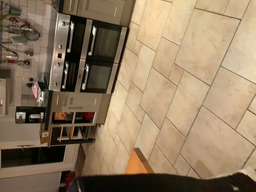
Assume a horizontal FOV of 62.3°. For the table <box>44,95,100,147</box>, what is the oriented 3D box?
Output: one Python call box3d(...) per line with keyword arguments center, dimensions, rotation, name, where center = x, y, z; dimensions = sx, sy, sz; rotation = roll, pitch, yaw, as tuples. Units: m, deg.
box3d(center=(-1.060, 0.420, 3.880), dimensions=(0.790, 0.790, 0.530), rotation=(51, 132, 50), name="table")
